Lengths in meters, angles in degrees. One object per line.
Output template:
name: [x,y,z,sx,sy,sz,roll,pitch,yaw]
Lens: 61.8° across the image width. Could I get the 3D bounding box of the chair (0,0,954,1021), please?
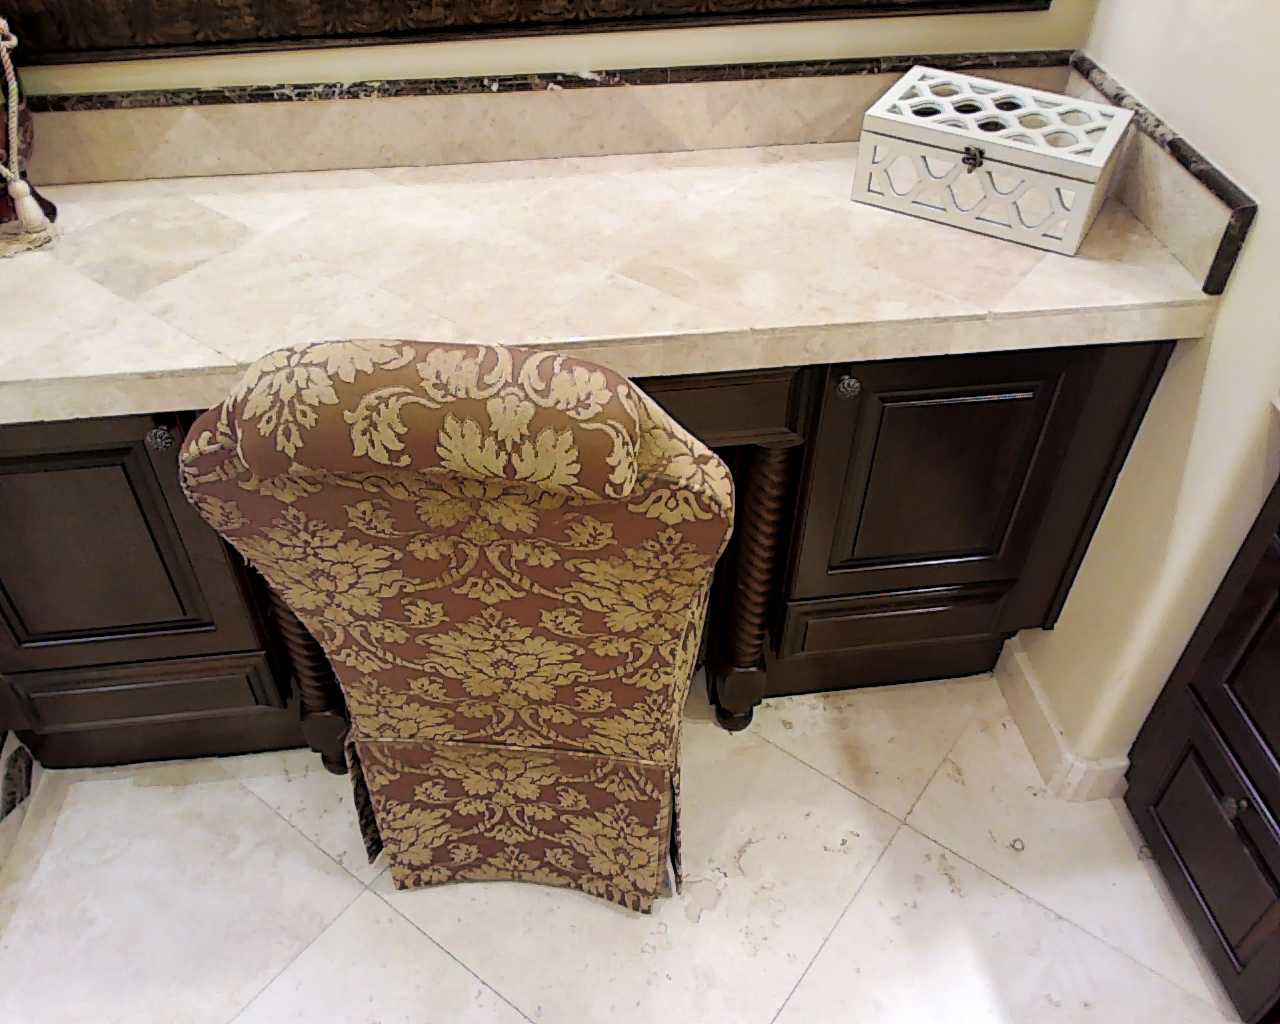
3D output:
chair: [-0.160,0.020,1.430,0.690,1.070,0.810,-4,44,-5]
